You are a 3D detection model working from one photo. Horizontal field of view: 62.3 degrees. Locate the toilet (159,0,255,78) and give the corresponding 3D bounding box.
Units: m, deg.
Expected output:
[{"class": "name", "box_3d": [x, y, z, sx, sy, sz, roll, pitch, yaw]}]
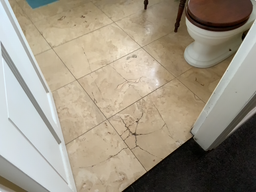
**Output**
[{"class": "toilet", "box_3d": [0.680, -0.680, 1.430, 0.700, 0.820, 0.440, -31, 62, -21]}]
